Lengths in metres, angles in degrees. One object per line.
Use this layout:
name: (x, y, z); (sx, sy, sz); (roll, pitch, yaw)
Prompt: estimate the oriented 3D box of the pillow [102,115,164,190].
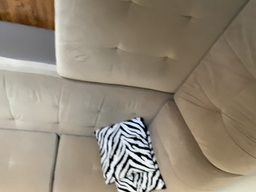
pillow: (0.010, 0.390, 1.430); (0.330, 0.390, 0.340); (5, 145, -9)
